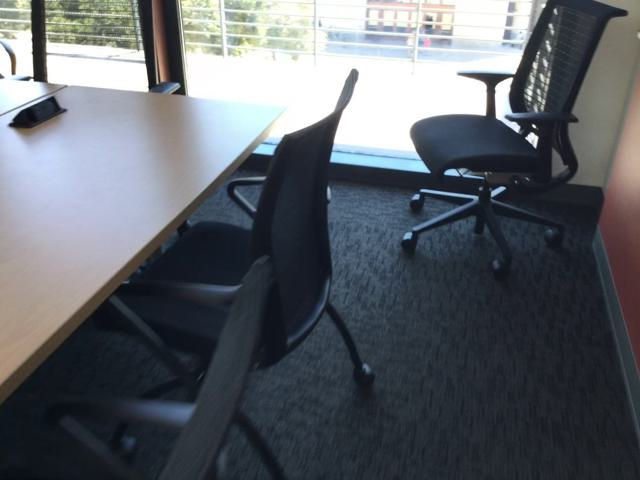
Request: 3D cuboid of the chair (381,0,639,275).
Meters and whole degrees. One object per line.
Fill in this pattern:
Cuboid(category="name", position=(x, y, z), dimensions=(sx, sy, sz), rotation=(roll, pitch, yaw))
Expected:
Cuboid(category="chair", position=(0.690, -0.460, 2.270), dimensions=(0.690, 0.920, 0.690), rotation=(-4, 31, -8))

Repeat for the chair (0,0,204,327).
Cuboid(category="chair", position=(-0.880, -0.350, 2.050), dimensions=(0.590, 1.000, 0.740), rotation=(6, 30, 10))
